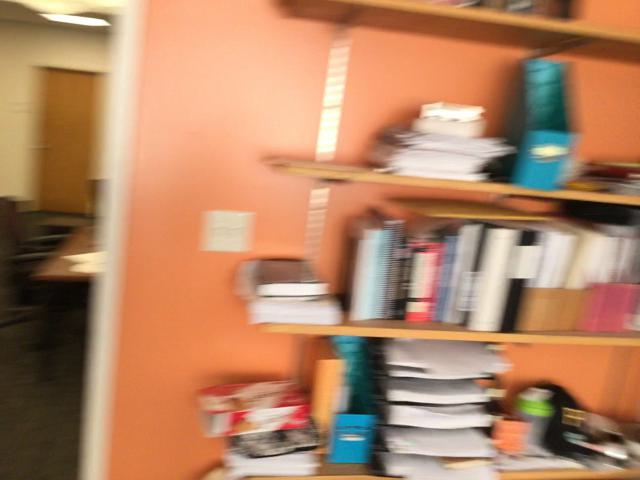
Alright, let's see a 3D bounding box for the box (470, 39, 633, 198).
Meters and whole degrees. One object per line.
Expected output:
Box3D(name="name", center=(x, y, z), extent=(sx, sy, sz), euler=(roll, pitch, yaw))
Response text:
Box3D(name="box", center=(0.590, -0.310, 1.530), extent=(0.230, 0.350, 0.310), euler=(4, 9, -9))
